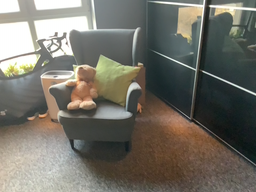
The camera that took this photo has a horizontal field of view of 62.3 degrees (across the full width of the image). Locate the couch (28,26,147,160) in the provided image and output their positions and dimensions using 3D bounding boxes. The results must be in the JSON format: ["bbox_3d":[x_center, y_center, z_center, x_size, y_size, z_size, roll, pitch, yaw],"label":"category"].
[{"bbox_3d":[-0.250,-0.100,2.100,0.800,0.990,0.900,2,28,8],"label":"couch"}]

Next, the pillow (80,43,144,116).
[{"bbox_3d":[-0.160,-0.150,2.080,0.410,0.520,0.290,27,40,-4],"label":"pillow"}]
